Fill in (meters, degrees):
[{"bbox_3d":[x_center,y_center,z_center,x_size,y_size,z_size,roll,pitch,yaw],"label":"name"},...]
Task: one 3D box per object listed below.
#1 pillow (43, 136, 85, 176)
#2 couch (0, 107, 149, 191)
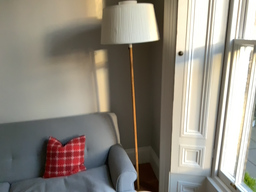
[{"bbox_3d":[-0.580,0.540,1.950,0.340,0.310,0.170,-4,-13,-8],"label":"pillow"},{"bbox_3d":[-1.030,0.700,1.750,2.170,0.700,1.070,-5,17,-12],"label":"couch"}]
